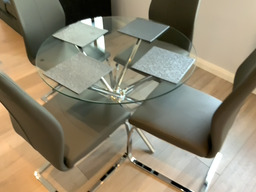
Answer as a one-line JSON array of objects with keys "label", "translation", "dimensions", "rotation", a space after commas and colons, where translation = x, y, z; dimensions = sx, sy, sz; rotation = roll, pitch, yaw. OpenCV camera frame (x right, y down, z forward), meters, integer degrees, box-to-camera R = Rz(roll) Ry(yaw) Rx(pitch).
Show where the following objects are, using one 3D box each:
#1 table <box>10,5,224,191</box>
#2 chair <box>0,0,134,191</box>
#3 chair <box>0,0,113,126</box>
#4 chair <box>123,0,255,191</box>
[{"label": "table", "translation": [-0.070, -0.050, 1.520], "dimensions": [0.910, 0.710, 0.920], "rotation": [-34, 53, -31]}, {"label": "chair", "translation": [-0.340, 0.090, 1.140], "dimensions": [0.480, 1.030, 0.580], "rotation": [26, 49, 25]}, {"label": "chair", "translation": [-0.530, -0.380, 1.660], "dimensions": [0.590, 1.010, 0.520], "rotation": [21, 47, 21]}, {"label": "chair", "translation": [0.340, 0.060, 1.180], "dimensions": [0.560, 1.020, 0.460], "rotation": [26, 49, 25]}]
